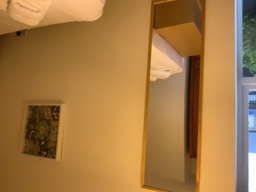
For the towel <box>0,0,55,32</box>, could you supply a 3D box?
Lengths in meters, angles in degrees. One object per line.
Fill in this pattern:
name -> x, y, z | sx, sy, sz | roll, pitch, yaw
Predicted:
towel -> -0.660, -0.530, 1.260 | 0.330, 0.090, 0.440 | 6, 174, -33
